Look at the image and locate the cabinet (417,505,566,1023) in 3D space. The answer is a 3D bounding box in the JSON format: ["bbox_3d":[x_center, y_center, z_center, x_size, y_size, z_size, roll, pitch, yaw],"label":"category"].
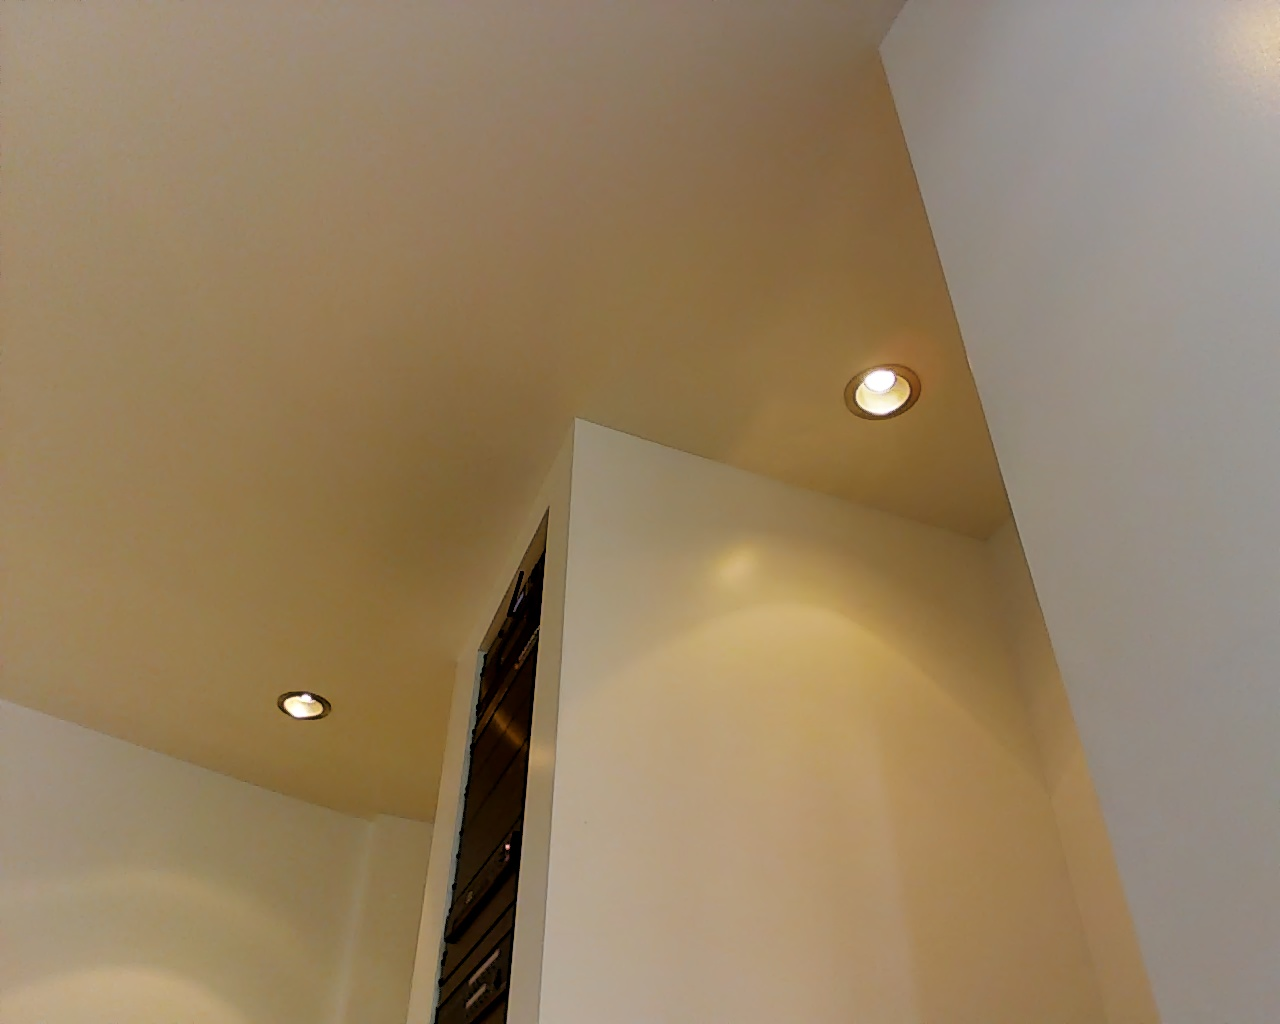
[{"bbox_3d":[-0.260,0.750,1.620,0.050,1.590,0.510,15,-43,-16],"label":"cabinet"}]
